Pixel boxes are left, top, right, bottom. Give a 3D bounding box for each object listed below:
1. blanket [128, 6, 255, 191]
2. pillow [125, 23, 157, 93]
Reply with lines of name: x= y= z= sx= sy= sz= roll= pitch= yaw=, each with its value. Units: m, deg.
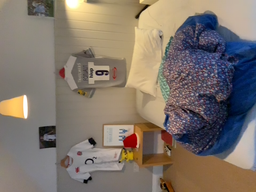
blanket: x=0.370 y=-0.060 z=1.580 sx=0.970 sy=0.340 sz=1.040 roll=-126 pitch=39 yaw=-59
pillow: x=0.130 y=-0.420 z=2.450 sx=0.490 sy=0.170 sz=0.710 roll=-159 pitch=69 yaw=-70
